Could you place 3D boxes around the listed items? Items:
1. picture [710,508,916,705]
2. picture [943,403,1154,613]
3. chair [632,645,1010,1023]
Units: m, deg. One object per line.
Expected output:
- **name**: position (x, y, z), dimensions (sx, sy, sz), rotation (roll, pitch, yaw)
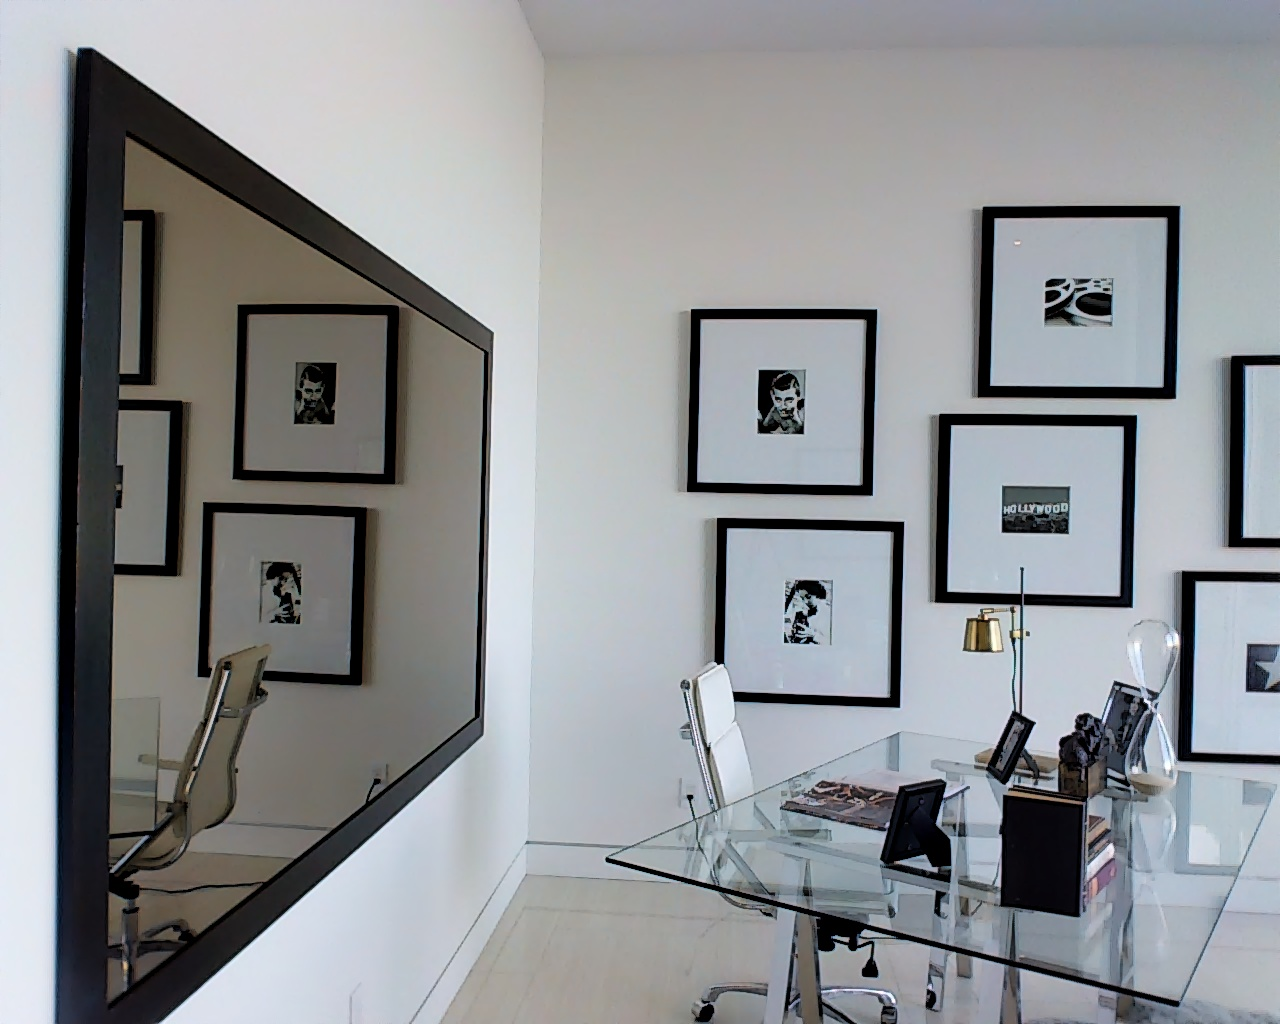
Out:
- **picture**: position (0.700, 0.380, 4.400), dimensions (0.810, 0.780, 0.070), rotation (1, 1, 6)
- **picture**: position (1.620, -0.020, 4.290), dimensions (0.780, 0.820, 0.060), rotation (1, 1, 6)
- **chair**: position (0.540, 1.000, 3.200), dimensions (0.850, 1.060, 0.720), rotation (2, 1, 38)
